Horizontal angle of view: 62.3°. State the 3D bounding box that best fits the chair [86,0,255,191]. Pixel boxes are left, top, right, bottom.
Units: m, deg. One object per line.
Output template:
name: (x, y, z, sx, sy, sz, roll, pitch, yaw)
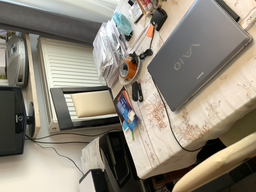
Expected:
chair: (0.450, 0.040, 0.930, 0.410, 1.070, 0.560, -54, 48, 39)
